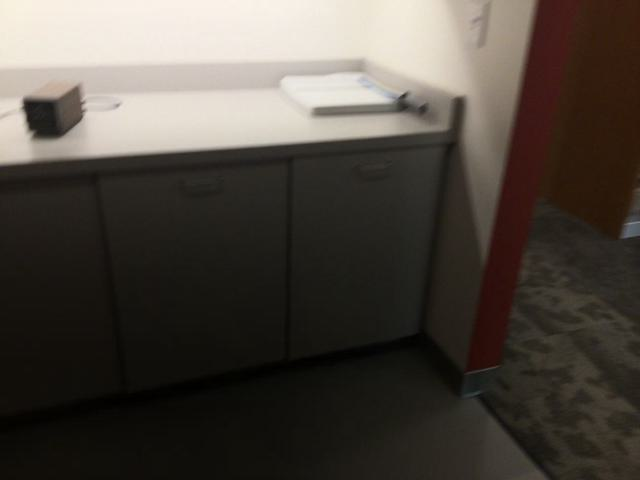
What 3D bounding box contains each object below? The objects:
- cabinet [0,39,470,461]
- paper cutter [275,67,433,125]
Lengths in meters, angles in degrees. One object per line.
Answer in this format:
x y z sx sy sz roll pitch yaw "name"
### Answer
-0.640 -0.020 1.740 2.000 0.970 0.630 -9 29 -20 "cabinet"
0.090 -0.480 1.880 0.340 0.060 0.480 -9 29 -20 "paper cutter"
